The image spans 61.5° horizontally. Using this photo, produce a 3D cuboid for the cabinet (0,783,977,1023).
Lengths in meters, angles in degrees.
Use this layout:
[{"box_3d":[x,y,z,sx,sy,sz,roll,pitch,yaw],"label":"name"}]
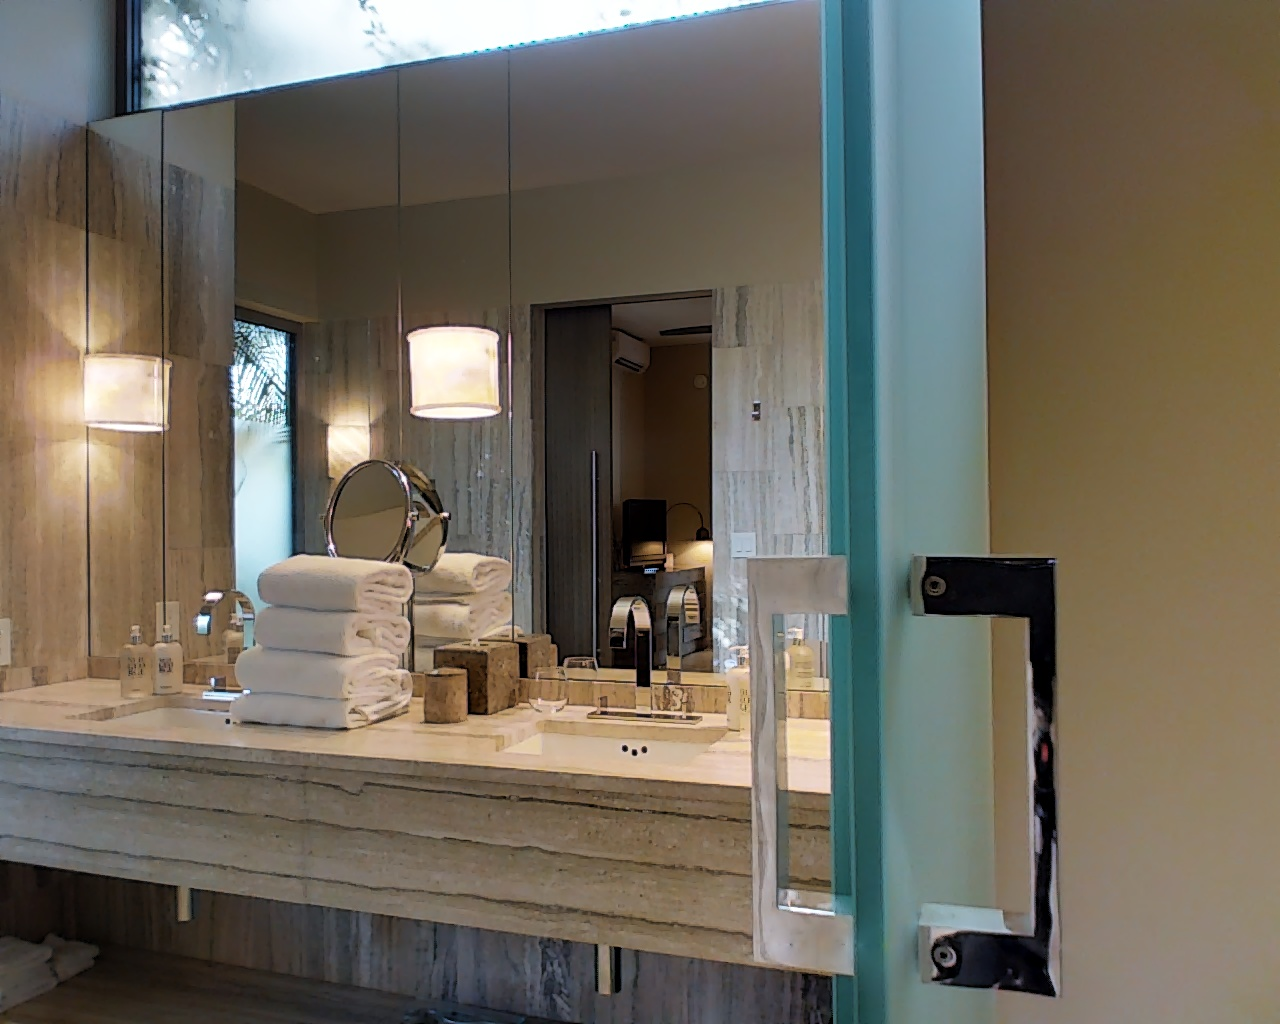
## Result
[{"box_3d":[-0.530,1.010,2.390,2.410,0.460,0.630,0,0,20],"label":"cabinet"}]
